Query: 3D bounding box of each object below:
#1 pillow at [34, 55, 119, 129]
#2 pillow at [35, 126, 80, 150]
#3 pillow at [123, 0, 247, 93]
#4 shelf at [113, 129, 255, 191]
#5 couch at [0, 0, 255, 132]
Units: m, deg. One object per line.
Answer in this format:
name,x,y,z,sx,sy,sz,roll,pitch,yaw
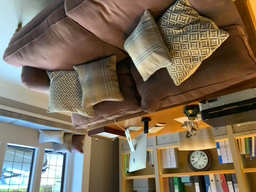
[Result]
pillow,-0.440,-0.050,1.890,0.550,0.480,0.180,21,158,16
pillow,-1.250,0.770,3.810,0.320,0.290,0.660,-21,150,38
pillow,0.320,-0.320,1.330,0.440,0.350,0.560,17,151,-36
shelf,1.080,1.530,3.130,2.940,1.670,0.680,-19,151,36
couch,-0.060,-0.370,1.670,1.670,0.860,1.110,-18,152,34
